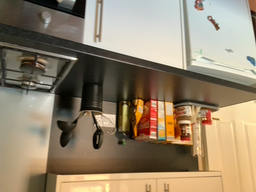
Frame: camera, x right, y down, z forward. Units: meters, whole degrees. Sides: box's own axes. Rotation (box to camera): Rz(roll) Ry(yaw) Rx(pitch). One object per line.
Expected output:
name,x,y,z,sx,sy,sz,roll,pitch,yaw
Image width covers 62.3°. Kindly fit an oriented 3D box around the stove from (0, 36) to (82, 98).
stove,-0.570,-0.110,0.900,0.580,0.030,0.590,9,162,-28
